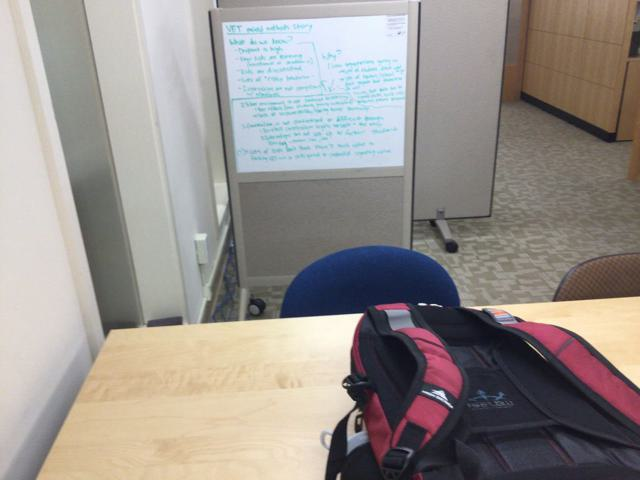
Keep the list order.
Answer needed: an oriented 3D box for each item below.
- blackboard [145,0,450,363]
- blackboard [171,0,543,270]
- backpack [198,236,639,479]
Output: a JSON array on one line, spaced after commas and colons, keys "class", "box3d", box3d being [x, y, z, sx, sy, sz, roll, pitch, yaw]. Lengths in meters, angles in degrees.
[{"class": "blackboard", "box3d": [0.000, -0.240, 2.240, 0.880, 1.400, 0.400, -6, 27, 6]}, {"class": "blackboard", "box3d": [0.230, -0.520, 3.070, 1.710, 1.160, 0.370, -6, 27, 6]}, {"class": "backpack", "box3d": [0.150, 0.230, 0.780, 0.510, 0.220, 0.490, -6, 27, 6]}]
